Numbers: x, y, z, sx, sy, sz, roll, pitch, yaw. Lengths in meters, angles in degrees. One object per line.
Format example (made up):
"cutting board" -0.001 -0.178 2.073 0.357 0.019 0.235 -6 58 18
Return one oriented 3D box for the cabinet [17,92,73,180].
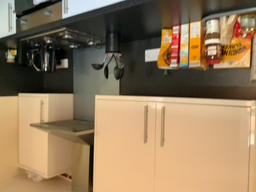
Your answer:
"cabinet" -0.870 0.360 2.220 0.520 0.800 0.320 2 -177 37
